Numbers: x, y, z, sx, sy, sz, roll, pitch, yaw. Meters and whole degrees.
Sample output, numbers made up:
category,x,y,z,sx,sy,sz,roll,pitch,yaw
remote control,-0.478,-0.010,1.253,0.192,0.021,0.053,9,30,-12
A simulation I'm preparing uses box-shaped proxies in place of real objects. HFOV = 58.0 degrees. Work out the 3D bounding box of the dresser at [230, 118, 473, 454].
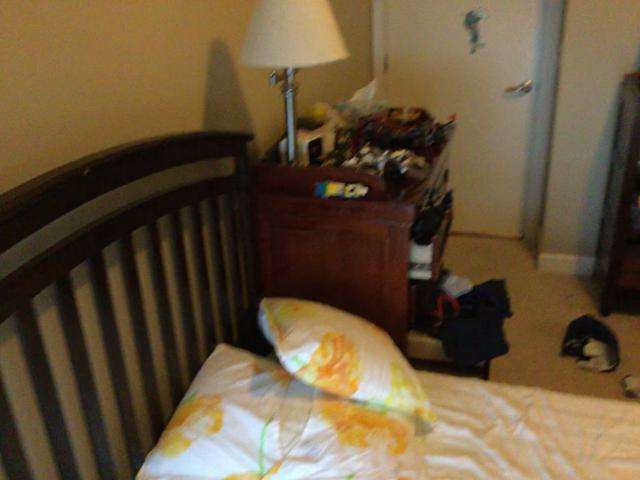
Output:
category,x,y,z,sx,sy,sz,roll,pitch,yaw
dresser,0.230,0.080,2.300,0.610,0.890,1.050,3,24,21

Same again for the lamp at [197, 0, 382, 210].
category,x,y,z,sx,sy,sz,roll,pitch,yaw
lamp,-0.060,-0.440,1.580,0.350,0.630,0.330,3,24,21

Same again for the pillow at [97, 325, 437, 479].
category,x,y,z,sx,sy,sz,roll,pitch,yaw
pillow,-0.090,0.500,1.440,0.670,0.300,0.480,3,24,21
